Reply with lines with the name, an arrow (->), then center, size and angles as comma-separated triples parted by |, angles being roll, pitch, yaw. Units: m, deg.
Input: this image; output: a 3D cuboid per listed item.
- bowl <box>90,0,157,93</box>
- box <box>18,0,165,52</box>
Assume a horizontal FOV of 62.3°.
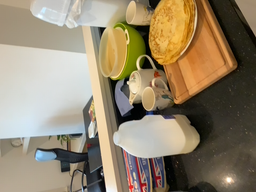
bowl -> -0.040, -0.210, 0.970 | 0.280, 0.150, 0.290 | -46, 50, 51
box -> -0.170, -0.460, 0.870 | 0.270, 0.490, 0.420 | -38, 57, 55
